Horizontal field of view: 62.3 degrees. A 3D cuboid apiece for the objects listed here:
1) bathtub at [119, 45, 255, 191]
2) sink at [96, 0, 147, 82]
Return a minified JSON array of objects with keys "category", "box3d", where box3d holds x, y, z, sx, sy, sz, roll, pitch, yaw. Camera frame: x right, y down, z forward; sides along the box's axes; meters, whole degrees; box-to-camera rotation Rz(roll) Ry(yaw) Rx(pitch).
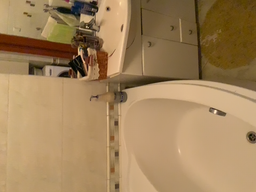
[{"category":"bathtub","box3d":[0.590,0.360,1.290,1.520,0.620,1.030,-12,78,58]},{"category":"sink","box3d":[-0.070,-0.540,1.570,0.480,0.160,0.810,-8,81,59]}]
